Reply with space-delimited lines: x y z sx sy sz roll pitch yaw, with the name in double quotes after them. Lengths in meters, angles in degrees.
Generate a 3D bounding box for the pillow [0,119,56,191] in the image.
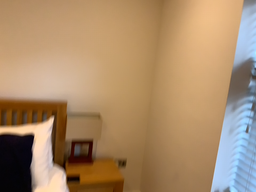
-0.840 0.470 1.450 0.490 0.440 0.270 29 6 -17 "pillow"

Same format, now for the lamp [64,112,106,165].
-0.410 0.390 1.980 0.330 0.440 0.180 4 10 -19 "lamp"

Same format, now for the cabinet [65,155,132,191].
-0.310 0.920 1.980 0.520 0.570 0.440 4 10 -17 "cabinet"

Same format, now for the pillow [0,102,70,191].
-0.900 0.420 1.610 0.690 0.550 0.180 32 5 -18 "pillow"
